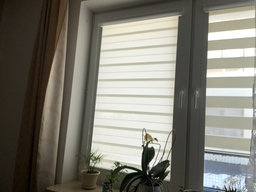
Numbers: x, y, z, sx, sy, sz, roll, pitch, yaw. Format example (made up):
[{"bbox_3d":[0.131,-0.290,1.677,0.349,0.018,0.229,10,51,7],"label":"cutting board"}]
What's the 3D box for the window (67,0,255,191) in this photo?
[{"bbox_3d":[0.430,-0.010,1.410,1.790,1.530,0.210,1,-8,27],"label":"window"}]
